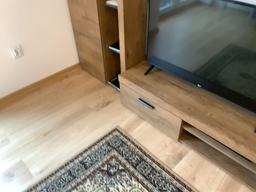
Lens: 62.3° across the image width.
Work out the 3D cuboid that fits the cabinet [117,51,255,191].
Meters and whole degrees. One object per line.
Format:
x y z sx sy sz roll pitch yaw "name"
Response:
0.470 0.080 1.600 0.390 0.320 1.210 -32 49 -31 "cabinet"
